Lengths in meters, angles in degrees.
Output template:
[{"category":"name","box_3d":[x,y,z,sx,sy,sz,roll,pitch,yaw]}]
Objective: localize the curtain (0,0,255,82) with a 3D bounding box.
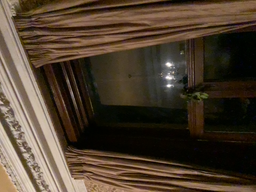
[{"category":"curtain","box_3d":[0.520,-0.500,1.320,0.480,3.330,0.550,-60,-36,-58]}]

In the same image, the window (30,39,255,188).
[{"category":"window","box_3d":[0.800,0.200,1.890,0.310,3.350,1.280,-59,-37,-59]}]

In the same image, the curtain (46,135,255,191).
[{"category":"curtain","box_3d":[0.830,0.800,2.040,0.490,3.330,0.530,-60,-36,-58]}]
